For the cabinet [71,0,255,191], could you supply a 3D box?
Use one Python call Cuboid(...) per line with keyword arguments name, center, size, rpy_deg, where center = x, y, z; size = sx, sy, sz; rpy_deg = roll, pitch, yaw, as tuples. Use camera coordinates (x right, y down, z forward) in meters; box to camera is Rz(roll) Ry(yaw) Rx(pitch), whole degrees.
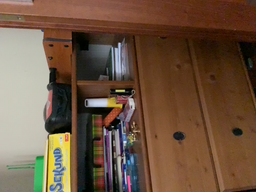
Cuboid(name="cabinet", center=(0.170, -0.020, 1.050), size=(0.480, 0.860, 0.930), rpy_deg=(125, 142, -67))
